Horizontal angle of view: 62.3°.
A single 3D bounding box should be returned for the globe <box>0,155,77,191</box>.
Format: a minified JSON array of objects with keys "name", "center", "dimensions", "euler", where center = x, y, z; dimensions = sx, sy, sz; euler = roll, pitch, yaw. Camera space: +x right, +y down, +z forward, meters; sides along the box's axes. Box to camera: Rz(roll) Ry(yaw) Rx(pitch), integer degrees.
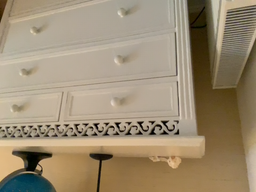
[{"name":"globe","center":[-0.490,0.490,0.980],"dimensions":[0.340,0.390,0.310],"euler":[-3,159,15]}]
